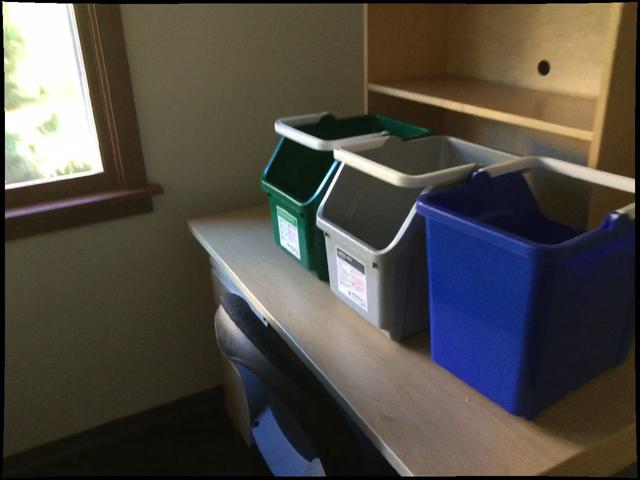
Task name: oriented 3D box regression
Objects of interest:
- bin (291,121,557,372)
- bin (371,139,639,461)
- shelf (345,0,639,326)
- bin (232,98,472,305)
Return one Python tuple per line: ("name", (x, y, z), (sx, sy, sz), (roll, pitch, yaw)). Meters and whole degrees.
("bin", (0.199, -0.020, 1.220), (0.389, 0.351, 0.350), (-15, 27, -28))
("bin", (0.369, 0.060, 1.030), (0.399, 0.351, 0.380), (-15, 27, -28))
("shelf", (0.439, -0.361, 1.420), (0.359, 0.772, 0.830), (-15, 27, -28))
("bin", (0.070, -0.130, 1.470), (0.439, 0.351, 0.390), (-15, 27, -28))
